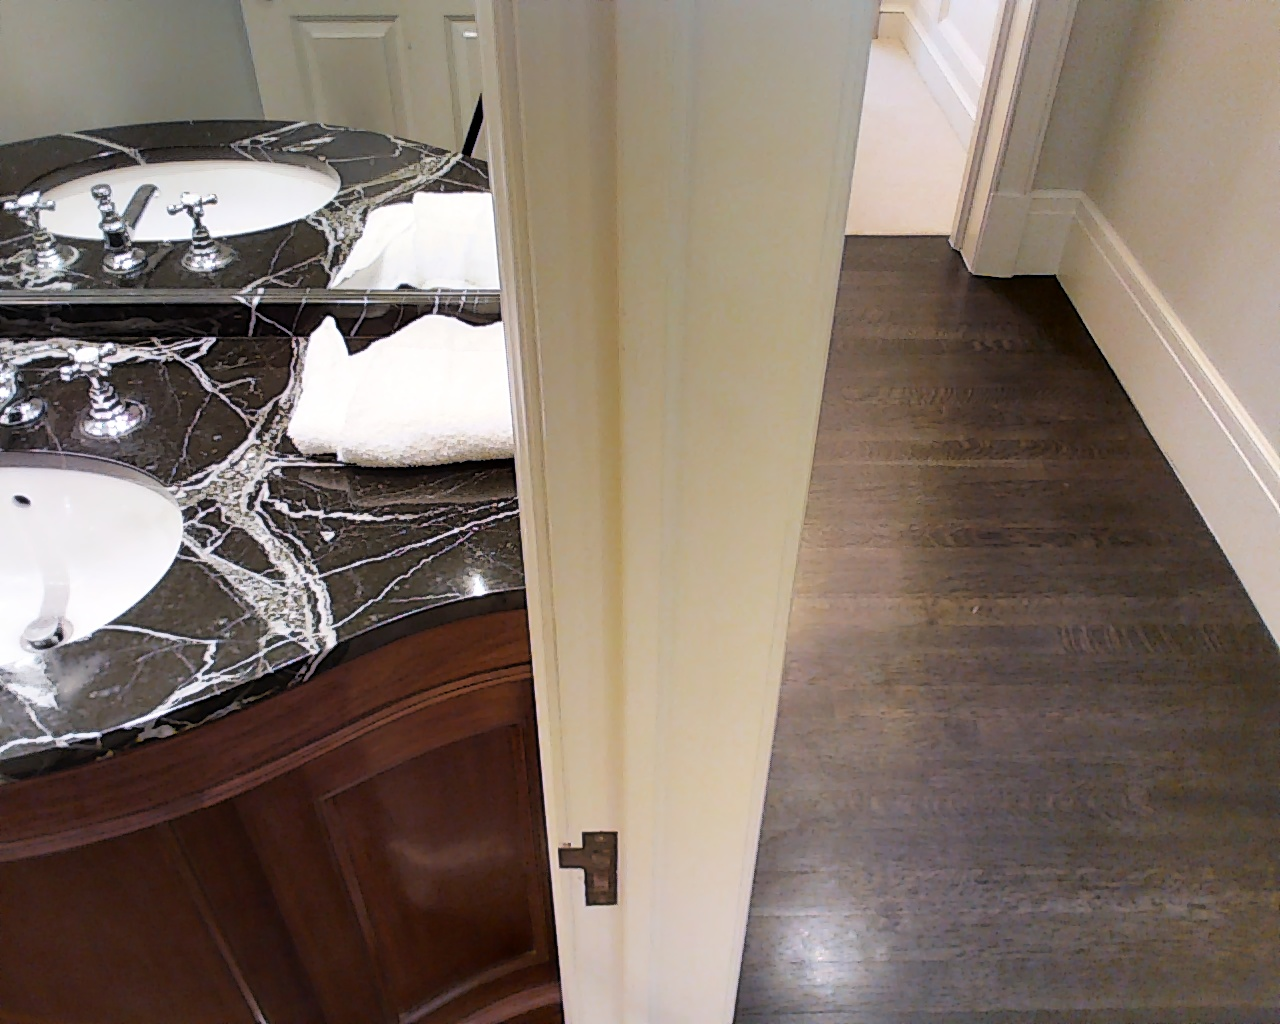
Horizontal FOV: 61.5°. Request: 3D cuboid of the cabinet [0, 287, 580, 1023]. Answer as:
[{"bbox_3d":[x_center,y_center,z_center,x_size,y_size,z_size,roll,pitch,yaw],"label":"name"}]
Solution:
[{"bbox_3d":[-0.670,0.320,1.300,1.160,0.980,0.620,0,42,-2],"label":"cabinet"}]
